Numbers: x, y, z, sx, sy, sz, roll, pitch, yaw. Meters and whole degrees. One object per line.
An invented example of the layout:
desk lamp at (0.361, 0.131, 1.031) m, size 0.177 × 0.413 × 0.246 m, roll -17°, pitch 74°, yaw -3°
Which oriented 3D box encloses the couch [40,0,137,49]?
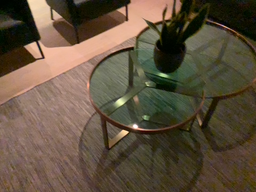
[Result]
couch at (-0.430, -1.100, 2.160) m, size 0.760 × 0.720 × 0.740 m, roll -31°, pitch 58°, yaw -24°
